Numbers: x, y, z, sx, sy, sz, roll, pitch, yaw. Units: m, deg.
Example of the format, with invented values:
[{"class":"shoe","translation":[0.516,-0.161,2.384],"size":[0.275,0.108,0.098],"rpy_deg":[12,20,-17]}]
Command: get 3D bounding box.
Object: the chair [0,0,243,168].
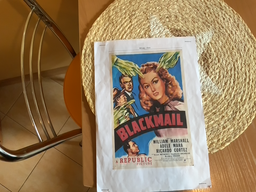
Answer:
[{"class":"chair","translation":[-0.060,-0.020,0.750],"size":[0.380,0.850,0.340],"rpy_deg":[-11,80,-3]}]
